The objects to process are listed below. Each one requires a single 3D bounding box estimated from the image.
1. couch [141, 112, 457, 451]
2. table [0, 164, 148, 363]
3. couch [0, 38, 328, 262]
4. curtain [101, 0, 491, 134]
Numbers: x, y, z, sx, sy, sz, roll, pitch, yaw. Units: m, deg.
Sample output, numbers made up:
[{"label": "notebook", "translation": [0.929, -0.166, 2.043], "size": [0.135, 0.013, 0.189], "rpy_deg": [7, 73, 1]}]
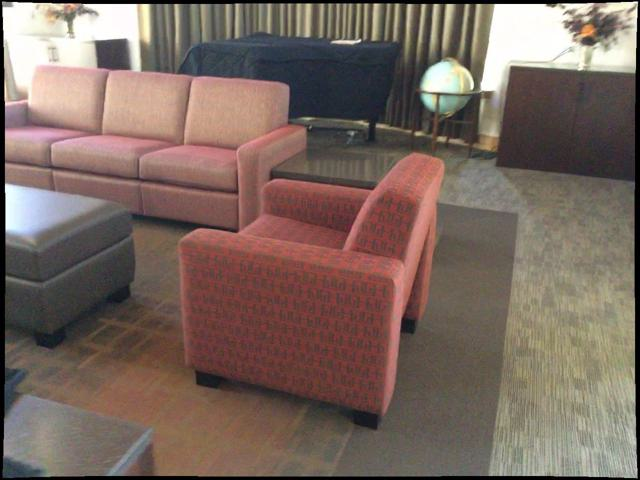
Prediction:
[{"label": "couch", "translation": [-0.020, 0.060, 2.260], "size": [0.859, 0.851, 0.930], "rpy_deg": [11, 26, 16]}, {"label": "table", "translation": [-1.598, 0.000, 2.630], "size": [1.399, 0.500, 0.670], "rpy_deg": [10, 26, 16]}, {"label": "couch", "translation": [-1.379, -0.711, 3.850], "size": [2.668, 0.941, 0.930], "rpy_deg": [10, 26, 16]}, {"label": "curtain", "translation": [-0.360, -2.513, 6.480], "size": [4.286, 1.942, 0.900], "rpy_deg": [10, 26, 16]}]
